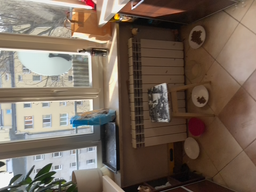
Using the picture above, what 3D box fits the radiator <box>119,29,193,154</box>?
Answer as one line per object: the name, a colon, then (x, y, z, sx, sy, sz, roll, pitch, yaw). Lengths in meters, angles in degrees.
radiator: (0.270, -0.050, 2.050, 0.250, 0.600, 1.070, -10, 82, 63)
